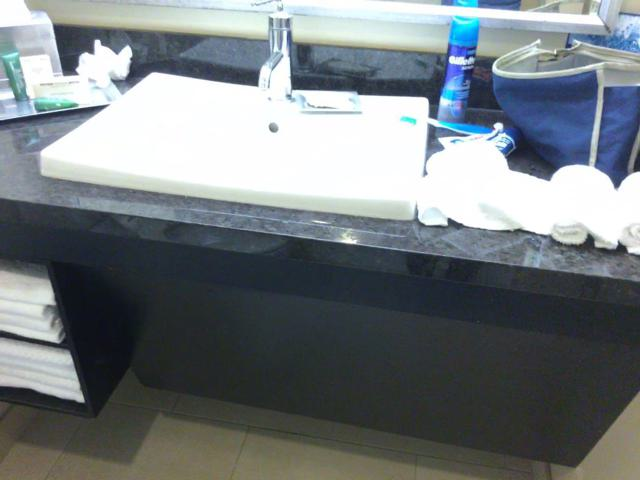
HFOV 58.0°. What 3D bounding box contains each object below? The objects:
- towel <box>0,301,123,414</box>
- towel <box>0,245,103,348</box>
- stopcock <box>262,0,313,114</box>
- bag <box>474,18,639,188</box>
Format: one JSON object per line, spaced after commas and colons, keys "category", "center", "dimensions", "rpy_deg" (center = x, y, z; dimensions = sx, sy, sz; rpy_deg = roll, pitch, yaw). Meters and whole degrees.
{"category": "towel", "center": [-0.610, 0.230, 1.180], "dimensions": [0.370, 0.190, 0.080], "rpy_deg": [7, 34, 9]}
{"category": "towel", "center": [-0.530, 0.100, 1.060], "dimensions": [0.210, 0.140, 0.090], "rpy_deg": [7, 34, 9]}
{"category": "stopcock", "center": [-0.060, -0.370, 1.140], "dimensions": [0.060, 0.190, 0.160], "rpy_deg": [7, 34, 9]}
{"category": "bag", "center": [0.420, -0.240, 0.970], "dimensions": [0.280, 0.180, 0.270], "rpy_deg": [7, 34, 9]}
